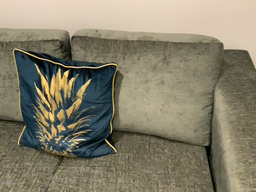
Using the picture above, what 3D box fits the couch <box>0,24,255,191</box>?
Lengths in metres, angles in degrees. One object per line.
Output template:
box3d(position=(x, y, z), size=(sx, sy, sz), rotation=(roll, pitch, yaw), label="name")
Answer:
box3d(position=(-0.310, 0.250, 1.000), size=(1.740, 0.760, 1.010), rotation=(3, 43, 8), label="couch")
